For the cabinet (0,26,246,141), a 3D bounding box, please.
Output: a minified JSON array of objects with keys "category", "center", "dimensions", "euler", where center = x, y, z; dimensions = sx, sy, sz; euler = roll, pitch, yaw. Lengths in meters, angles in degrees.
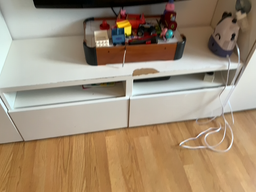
[{"category":"cabinet","center":[-0.030,-0.100,1.280],"dimensions":[1.190,0.400,0.430],"euler":[-6,47,-8]}]
